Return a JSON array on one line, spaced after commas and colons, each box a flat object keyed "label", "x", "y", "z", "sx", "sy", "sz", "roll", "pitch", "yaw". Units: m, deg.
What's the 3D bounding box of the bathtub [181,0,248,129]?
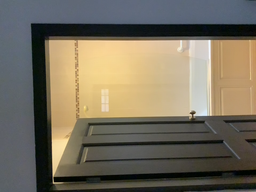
[{"label": "bathtub", "x": 1.120, "y": -0.530, "z": 2.870, "sx": 0.690, "sy": 0.560, "sz": 1.850, "roll": 172, "pitch": 98, "yaw": -85}]
